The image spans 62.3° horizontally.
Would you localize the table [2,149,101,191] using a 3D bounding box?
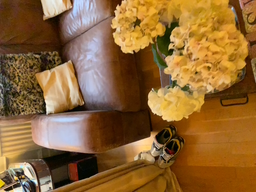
[{"bbox_3d":[-0.640,0.700,1.820,0.490,0.590,0.360,-12,83,36],"label":"table"}]
